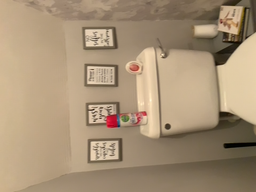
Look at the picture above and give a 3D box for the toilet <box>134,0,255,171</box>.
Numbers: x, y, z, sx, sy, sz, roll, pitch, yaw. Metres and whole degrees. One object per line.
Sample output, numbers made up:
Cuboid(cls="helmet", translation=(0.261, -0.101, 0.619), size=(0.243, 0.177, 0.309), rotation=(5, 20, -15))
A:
Cuboid(cls="toilet", translation=(0.480, -0.060, 0.870), size=(0.690, 0.780, 0.460), rotation=(152, 115, -81))
